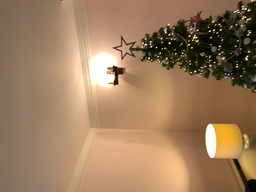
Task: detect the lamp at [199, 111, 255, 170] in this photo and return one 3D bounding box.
[{"bbox_3d":[1.070,0.420,2.050,0.410,0.610,0.370,-81,-9,-62],"label":"lamp"}]

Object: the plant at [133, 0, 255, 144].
[{"bbox_3d":[0.910,-0.320,1.660,0.930,1.690,0.980,-83,-7,-55],"label":"plant"}]
